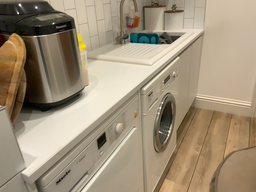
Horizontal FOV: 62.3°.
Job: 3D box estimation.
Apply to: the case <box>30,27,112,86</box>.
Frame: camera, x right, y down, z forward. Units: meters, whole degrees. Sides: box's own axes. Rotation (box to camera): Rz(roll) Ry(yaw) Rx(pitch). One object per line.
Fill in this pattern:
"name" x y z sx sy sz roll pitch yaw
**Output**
"case" -0.290 -0.230 1.140 0.280 0.220 0.280 12 30 28
